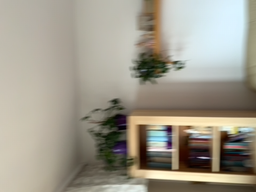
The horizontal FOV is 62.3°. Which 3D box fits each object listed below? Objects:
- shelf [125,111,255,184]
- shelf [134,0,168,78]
[{"bbox_3d":[0.990,0.490,2.130,0.330,2.000,0.620,-39,-52,-80],"label":"shelf"},{"bbox_3d":[0.240,-0.730,2.220,0.220,0.330,1.070,-22,-68,-81],"label":"shelf"}]
